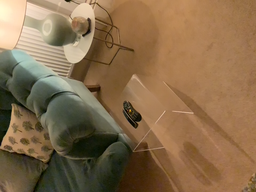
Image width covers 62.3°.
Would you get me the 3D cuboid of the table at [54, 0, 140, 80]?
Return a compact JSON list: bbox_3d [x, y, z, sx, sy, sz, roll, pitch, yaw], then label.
[{"bbox_3d":[-0.270,-0.450,1.750,0.430,0.430,0.420,42,115,40],"label":"table"}]
